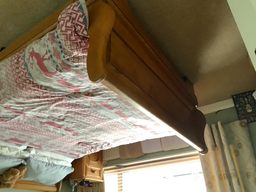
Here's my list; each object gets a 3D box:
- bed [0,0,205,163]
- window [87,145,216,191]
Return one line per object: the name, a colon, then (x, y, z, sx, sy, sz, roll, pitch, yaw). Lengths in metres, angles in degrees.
bed: (-0.600, 0.110, 2.210, 2.220, 0.570, 1.720, -19, 147, 27)
window: (0.200, 1.670, 2.880, 2.030, 1.600, 0.120, -20, 146, 28)
